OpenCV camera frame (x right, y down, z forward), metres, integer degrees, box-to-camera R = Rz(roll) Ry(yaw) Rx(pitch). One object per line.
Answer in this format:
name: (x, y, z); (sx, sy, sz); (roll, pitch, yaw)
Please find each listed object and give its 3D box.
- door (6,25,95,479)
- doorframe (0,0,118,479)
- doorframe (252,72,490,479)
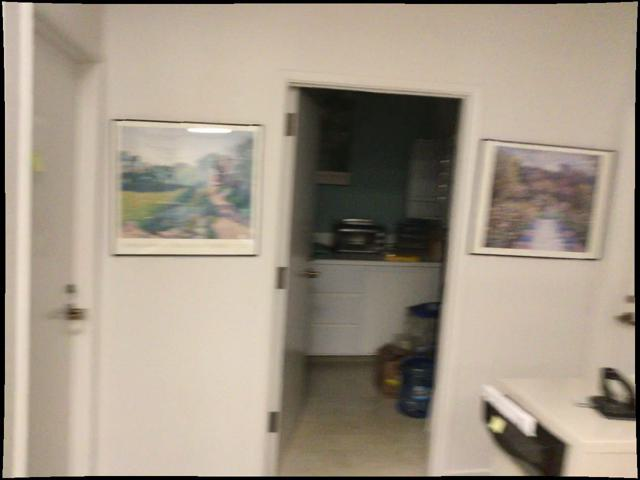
door: (-1.009, 0.170, 2.230); (0.090, 1.772, 0.610); (1, 5, -6)
doorframe: (-0.959, 0.160, 2.170); (0.170, 1.812, 0.880); (1, 5, -6)
doorframe: (0.220, 0.220, 2.920); (1.099, 1.982, 0.320); (1, 5, -6)
